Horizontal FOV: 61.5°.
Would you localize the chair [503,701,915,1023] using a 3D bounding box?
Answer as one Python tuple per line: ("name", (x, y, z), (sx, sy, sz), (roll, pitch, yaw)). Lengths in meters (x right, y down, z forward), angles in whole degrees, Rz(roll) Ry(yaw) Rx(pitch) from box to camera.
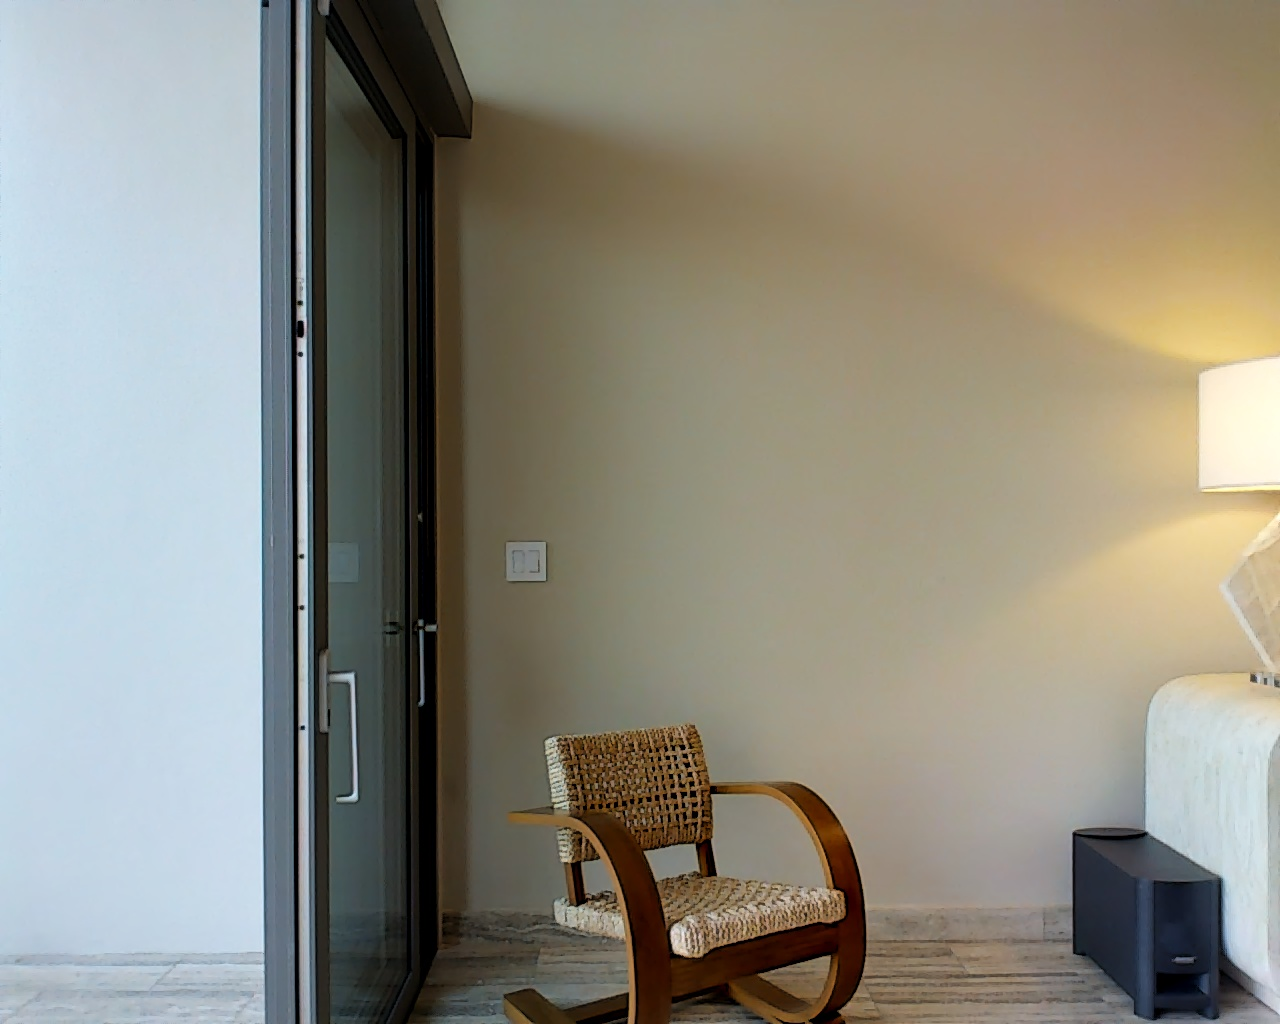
("chair", (0.150, 0.910, 2.670), (0.760, 0.710, 0.700), (0, 0, -30))
